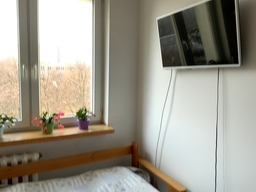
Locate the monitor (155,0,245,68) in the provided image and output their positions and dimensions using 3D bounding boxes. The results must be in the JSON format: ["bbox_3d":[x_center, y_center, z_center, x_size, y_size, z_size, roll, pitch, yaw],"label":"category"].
[{"bbox_3d":[0.460,-0.420,1.550,0.050,0.400,0.700,9,4,-30],"label":"monitor"}]
